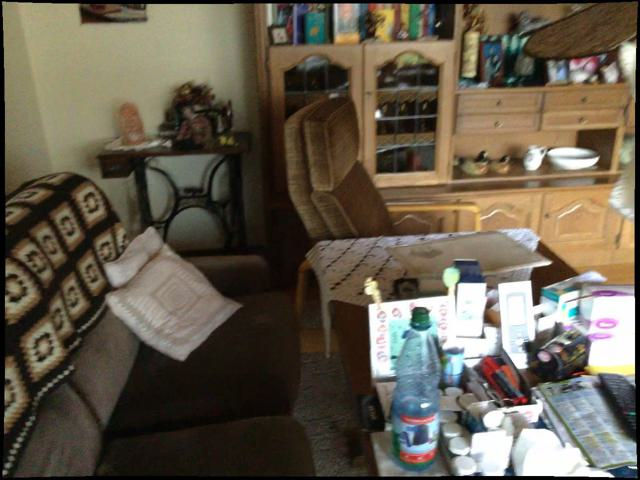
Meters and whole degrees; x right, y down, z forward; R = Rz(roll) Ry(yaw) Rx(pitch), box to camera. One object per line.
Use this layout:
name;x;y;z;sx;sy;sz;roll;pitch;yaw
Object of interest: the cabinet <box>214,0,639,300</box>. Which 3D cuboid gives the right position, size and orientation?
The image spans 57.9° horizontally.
cabinet;1.498;-0.971;3.030;3.986;2.162;0.760;-4;24;-7
